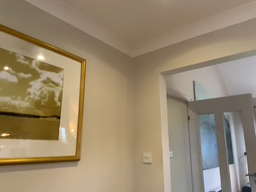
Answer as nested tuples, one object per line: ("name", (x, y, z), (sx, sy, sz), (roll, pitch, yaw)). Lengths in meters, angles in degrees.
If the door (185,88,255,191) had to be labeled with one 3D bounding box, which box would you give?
("door", (1.230, 0.990, 2.770), (0.810, 2.070, 0.180), (-11, -17, 41))
